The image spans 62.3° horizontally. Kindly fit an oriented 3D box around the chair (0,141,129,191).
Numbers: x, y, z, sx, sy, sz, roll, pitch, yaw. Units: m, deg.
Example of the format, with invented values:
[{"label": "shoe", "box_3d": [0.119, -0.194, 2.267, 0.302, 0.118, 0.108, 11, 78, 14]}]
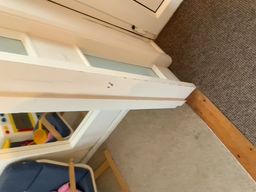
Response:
[{"label": "chair", "box_3d": [-0.440, 0.660, 1.390, 0.440, 0.680, 0.460, -51, 59, 28]}]
